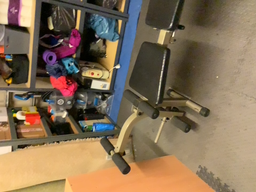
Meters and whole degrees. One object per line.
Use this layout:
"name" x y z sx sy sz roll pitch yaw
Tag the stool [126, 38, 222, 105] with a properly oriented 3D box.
"stool" 0.310 -0.160 1.470 0.330 0.480 0.330 39 121 49
